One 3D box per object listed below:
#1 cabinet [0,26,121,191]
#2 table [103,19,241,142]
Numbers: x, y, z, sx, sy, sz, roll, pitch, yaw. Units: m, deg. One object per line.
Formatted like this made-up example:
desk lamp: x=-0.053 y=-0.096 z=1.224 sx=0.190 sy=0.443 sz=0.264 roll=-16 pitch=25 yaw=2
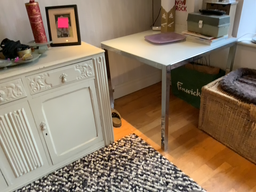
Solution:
cabinet: x=-0.830 y=0.070 z=1.580 sx=1.350 sy=0.820 sz=0.690 roll=-22 pitch=35 yaw=-28
table: x=0.390 y=-0.250 z=2.110 sx=0.890 sy=0.760 sz=0.840 roll=-22 pitch=35 yaw=-28
